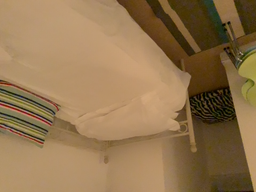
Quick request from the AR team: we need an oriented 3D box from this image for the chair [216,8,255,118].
[{"bbox_3d":[0.960,-0.240,1.580,0.350,0.660,0.400,-18,148,34],"label":"chair"}]
